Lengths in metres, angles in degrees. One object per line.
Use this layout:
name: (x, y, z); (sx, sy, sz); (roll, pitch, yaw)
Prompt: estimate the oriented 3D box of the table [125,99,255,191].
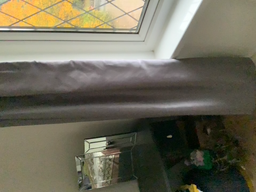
table: (0.540, 0.750, 1.630); (0.590, 0.740, 1.280); (112, 148, -54)
